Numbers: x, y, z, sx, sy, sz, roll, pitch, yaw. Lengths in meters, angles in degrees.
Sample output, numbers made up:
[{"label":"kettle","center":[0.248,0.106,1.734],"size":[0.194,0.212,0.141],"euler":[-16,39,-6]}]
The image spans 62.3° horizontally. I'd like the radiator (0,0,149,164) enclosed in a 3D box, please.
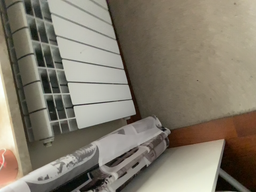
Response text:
[{"label":"radiator","center":[-0.200,-0.310,0.860],"size":[0.100,0.670,0.950],"euler":[-17,85,26]}]
